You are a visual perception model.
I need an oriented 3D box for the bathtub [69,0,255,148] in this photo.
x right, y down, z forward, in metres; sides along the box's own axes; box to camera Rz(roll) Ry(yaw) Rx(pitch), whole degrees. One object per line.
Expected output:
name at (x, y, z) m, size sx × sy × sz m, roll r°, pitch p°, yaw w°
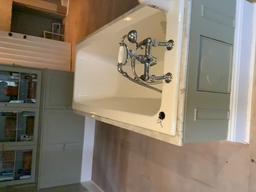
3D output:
bathtub at (0.050, -0.220, 2.010) m, size 1.870 × 0.620 × 0.950 m, roll 2°, pitch 89°, yaw 58°

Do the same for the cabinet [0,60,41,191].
cabinet at (-1.980, 0.410, 3.040) m, size 0.370 × 1.230 × 1.830 m, roll 1°, pitch 88°, yaw 58°
